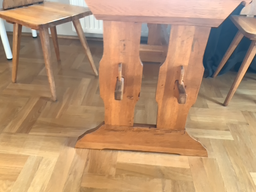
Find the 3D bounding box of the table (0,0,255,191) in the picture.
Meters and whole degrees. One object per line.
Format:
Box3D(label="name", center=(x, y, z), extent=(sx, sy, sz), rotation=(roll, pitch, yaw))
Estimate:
Box3D(label="table", center=(0.110, -0.340, 1.140), extent=(0.750, 0.730, 1.380), rotation=(5, 34, 2))
